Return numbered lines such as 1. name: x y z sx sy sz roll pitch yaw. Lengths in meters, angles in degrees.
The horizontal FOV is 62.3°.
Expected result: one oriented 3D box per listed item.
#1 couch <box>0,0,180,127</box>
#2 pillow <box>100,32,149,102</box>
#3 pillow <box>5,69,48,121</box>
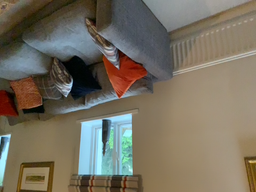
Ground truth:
1. couch: -1.090 -0.250 2.770 3.160 0.800 1.190 -13 158 32
2. pillow: -0.070 -0.290 2.150 0.310 0.450 0.500 -9 143 -18
3. pillow: -1.450 -0.010 3.010 0.590 0.430 0.170 -47 146 11
